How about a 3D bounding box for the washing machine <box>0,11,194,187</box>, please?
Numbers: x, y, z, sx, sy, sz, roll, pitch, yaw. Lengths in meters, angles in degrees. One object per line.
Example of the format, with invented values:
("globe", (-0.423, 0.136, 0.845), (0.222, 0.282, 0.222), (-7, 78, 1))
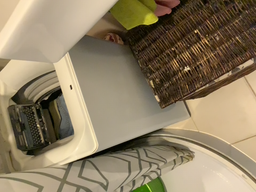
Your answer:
("washing machine", (-0.110, 0.030, 1.010), (0.460, 0.830, 0.420), (-26, 77, 33))
